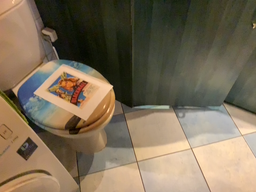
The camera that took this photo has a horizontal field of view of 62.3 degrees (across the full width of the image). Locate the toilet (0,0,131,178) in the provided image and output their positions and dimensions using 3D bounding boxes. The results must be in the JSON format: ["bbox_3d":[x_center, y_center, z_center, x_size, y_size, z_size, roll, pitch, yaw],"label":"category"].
[{"bbox_3d":[-0.380,-0.040,1.060,0.690,0.780,0.370,26,59,18],"label":"toilet"}]
